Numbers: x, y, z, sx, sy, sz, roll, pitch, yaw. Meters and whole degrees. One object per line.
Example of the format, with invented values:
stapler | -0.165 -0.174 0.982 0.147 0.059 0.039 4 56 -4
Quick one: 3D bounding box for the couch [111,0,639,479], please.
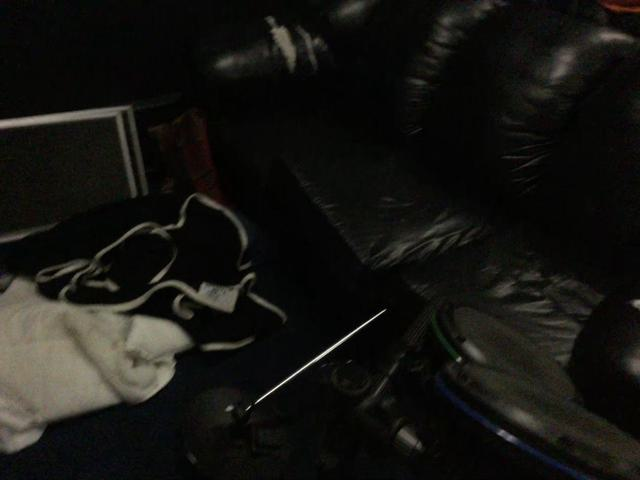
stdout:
couch | 0.330 -0.220 1.830 1.170 0.990 2.250 -19 35 -28
